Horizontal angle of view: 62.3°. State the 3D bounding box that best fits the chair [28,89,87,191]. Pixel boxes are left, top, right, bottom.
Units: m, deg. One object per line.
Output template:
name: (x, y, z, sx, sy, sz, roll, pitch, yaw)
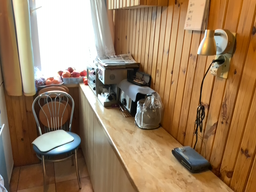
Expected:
chair: (-0.690, 0.420, 2.070, 0.430, 0.780, 0.690, -5, 20, -22)
